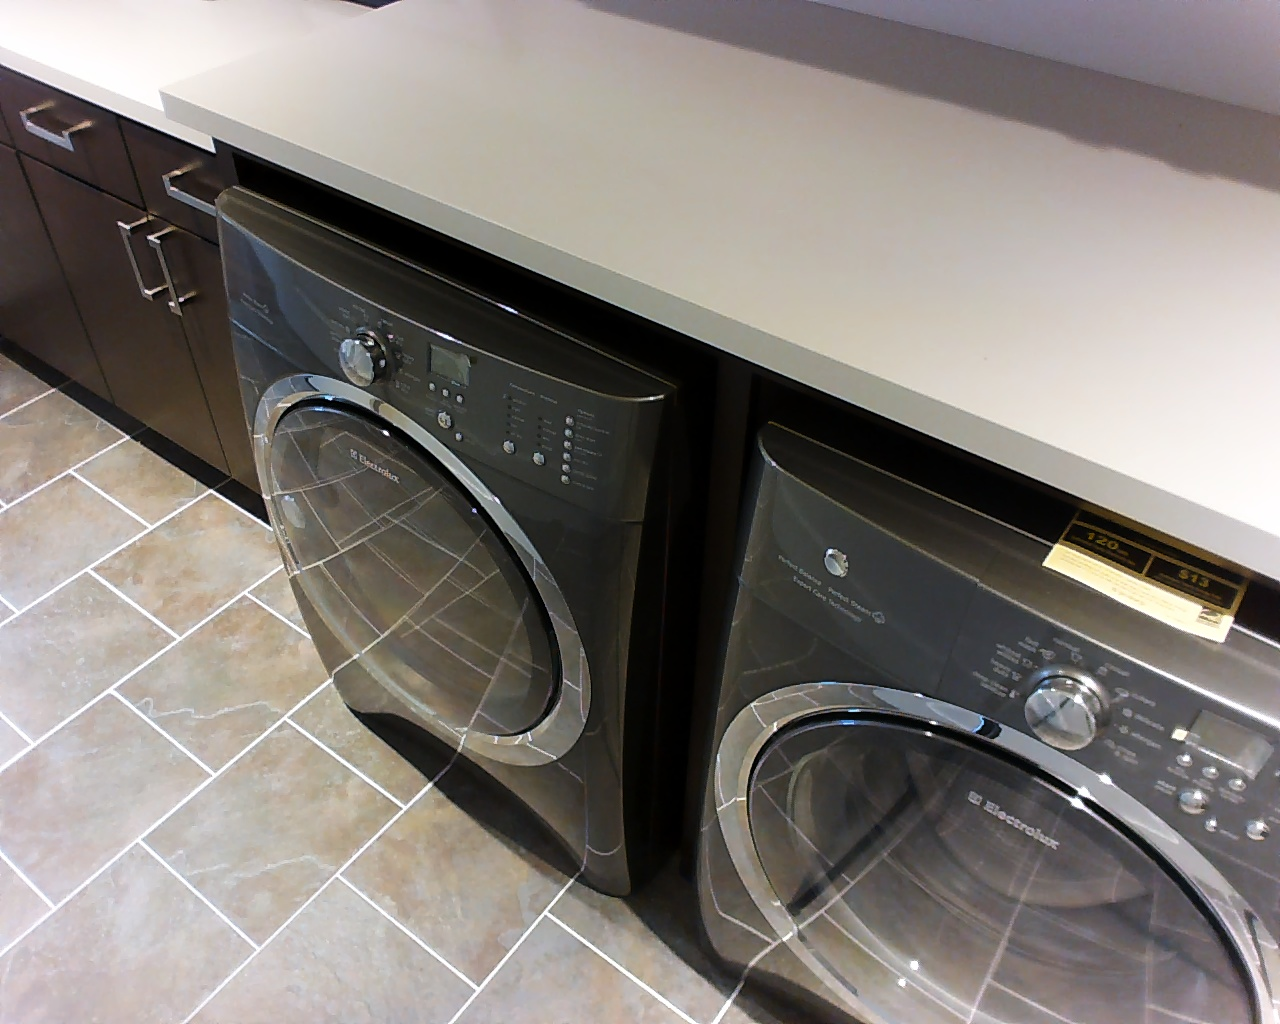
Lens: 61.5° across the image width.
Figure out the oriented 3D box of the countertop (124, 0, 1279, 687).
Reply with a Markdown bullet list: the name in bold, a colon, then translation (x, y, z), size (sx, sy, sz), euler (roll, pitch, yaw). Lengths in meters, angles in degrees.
- **countertop**: translation (0.300, -0.340, 1.210), size (1.730, 0.130, 0.790), euler (27, 49, 26)
